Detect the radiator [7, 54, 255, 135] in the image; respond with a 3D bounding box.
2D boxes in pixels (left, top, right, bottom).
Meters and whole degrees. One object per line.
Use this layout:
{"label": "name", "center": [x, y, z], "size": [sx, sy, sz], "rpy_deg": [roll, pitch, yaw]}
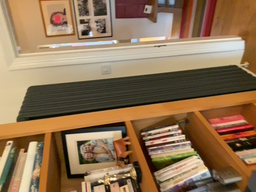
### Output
{"label": "radiator", "center": [0.190, -0.090, 1.640], "size": [0.590, 1.900, 0.140], "rpy_deg": [-115, 22, -58]}
